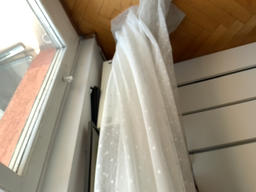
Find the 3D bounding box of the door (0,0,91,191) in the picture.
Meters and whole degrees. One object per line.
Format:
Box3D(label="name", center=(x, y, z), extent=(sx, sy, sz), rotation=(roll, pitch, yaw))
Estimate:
Box3D(label="door", center=(-0.440, 0.030, 0.350), extent=(0.200, 2.340, 0.910), rotation=(-13, 132, 9))
